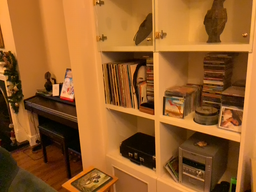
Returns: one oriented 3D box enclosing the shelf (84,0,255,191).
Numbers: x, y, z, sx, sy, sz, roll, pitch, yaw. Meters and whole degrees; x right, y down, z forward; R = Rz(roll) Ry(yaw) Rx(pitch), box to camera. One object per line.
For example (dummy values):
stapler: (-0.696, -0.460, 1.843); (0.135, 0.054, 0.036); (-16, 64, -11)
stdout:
shelf: (0.230, -0.080, 1.380); (1.050, 1.270, 0.320); (10, 21, 39)
